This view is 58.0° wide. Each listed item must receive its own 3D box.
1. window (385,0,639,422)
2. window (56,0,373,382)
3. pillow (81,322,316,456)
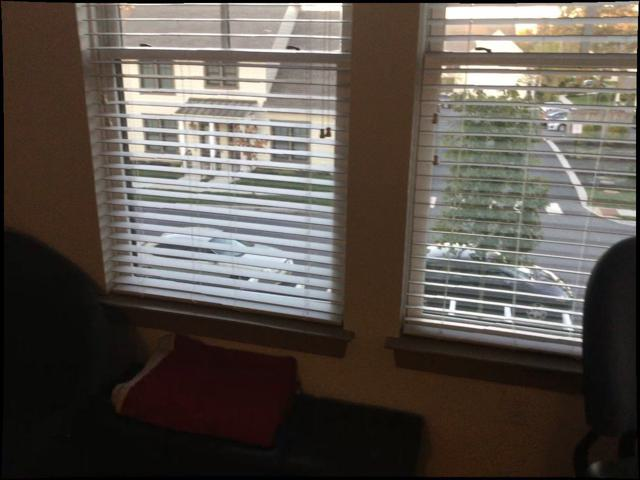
[{"bbox_3d":[0.718,-0.401,1.580,0.978,1.914,0.130,6,20,15],"label":"window"},{"bbox_3d":[-0.339,-0.501,1.770,0.988,1.924,0.080,6,20,16],"label":"window"},{"bbox_3d":[-0.379,0.461,1.880,0.659,0.160,0.340,6,20,16],"label":"pillow"}]
